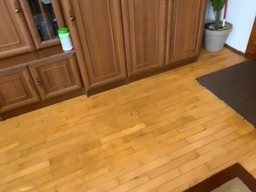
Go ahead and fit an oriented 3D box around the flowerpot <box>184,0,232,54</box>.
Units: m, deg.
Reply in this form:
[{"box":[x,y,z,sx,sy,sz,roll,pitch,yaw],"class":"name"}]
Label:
[{"box":[0.950,-1.140,2.470,0.360,1.200,0.320,-16,41,-13],"class":"flowerpot"}]
